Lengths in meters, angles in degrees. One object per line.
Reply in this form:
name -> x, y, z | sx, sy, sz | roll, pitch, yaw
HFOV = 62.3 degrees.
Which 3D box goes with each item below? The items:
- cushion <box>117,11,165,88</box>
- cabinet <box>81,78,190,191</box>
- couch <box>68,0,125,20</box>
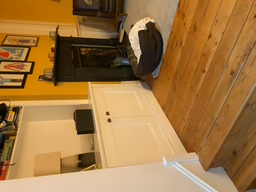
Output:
cushion -> 0.110, -0.570, 2.550 | 0.750, 0.260, 0.630 | -112, 26, -49
cabinet -> -0.060, 0.410, 2.370 | 1.330, 0.790, 0.620 | -113, 27, -51
couch -> -0.590, -1.740, 3.720 | 0.890, 0.880, 0.690 | -129, 40, -64
